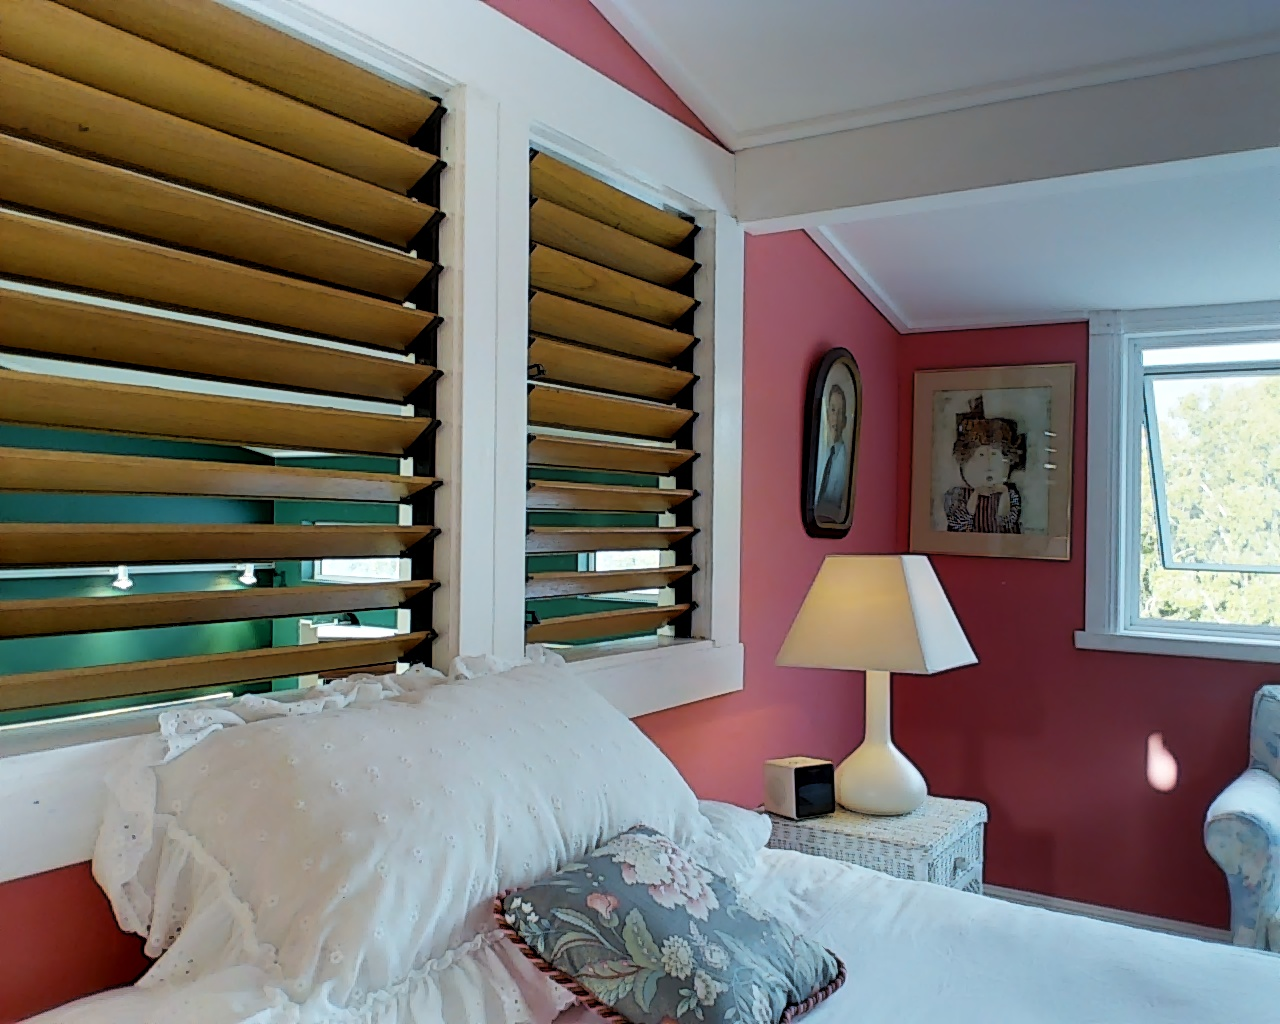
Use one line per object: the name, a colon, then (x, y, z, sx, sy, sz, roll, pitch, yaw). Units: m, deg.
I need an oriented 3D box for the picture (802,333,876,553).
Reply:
picture: (0.590, -0.190, 3.160, 0.050, 0.610, 0.410, 1, 0, 34)

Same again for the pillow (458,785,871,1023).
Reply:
pillow: (0.050, 0.560, 1.400, 0.370, 0.150, 0.410, -1, 22, 31)

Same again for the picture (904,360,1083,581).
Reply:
picture: (1.130, -0.130, 3.470, 0.550, 0.680, 0.040, 1, 0, 34)

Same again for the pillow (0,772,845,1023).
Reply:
pillow: (-0.180, 0.580, 1.530, 0.420, 0.100, 1.330, 1, 0, 35)

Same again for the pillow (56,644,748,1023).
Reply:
pillow: (-0.250, 0.390, 1.560, 0.390, 0.270, 0.980, 1, 0, 34)
